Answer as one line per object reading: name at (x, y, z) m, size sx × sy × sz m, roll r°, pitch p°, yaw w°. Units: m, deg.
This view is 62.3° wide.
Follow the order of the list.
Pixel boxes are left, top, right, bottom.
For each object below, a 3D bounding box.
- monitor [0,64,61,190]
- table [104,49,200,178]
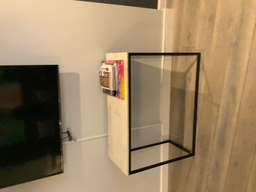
monitor at (-0.800, 0.230, 1.630) m, size 0.050 × 0.530 × 0.940 m, roll 17°, pitch 108°, yaw 59°
table at (0.220, 0.100, 2.030) m, size 0.410 × 0.770 × 1.050 m, roll 20°, pitch 113°, yaw 60°
